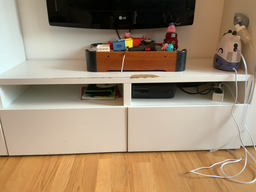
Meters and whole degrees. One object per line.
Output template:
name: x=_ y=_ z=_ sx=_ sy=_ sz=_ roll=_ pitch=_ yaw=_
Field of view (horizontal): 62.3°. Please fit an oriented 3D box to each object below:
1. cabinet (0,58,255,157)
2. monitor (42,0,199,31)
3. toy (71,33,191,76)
cabinet: x=-0.010 y=0.030 z=1.220 sx=1.190 sy=0.410 sz=0.420 roll=-1 pitch=22 yaw=-3
monitor: x=-0.030 y=-0.640 z=1.120 sx=0.850 sy=0.560 sz=0.050 roll=-1 pitch=23 yaw=-4
toy: x=0.010 y=-0.240 z=1.180 sx=0.570 sy=0.180 sz=0.310 roll=0 pitch=22 yaw=-2
